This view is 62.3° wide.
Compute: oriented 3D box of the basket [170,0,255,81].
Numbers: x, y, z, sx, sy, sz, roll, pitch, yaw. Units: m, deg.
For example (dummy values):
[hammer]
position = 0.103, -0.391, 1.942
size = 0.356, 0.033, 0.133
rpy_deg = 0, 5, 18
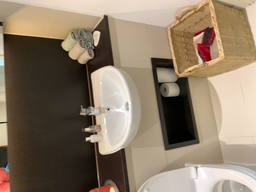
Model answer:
[basket]
position = 0.570, -0.350, 1.440
size = 0.400, 0.320, 0.400
rpy_deg = -21, 74, 56
